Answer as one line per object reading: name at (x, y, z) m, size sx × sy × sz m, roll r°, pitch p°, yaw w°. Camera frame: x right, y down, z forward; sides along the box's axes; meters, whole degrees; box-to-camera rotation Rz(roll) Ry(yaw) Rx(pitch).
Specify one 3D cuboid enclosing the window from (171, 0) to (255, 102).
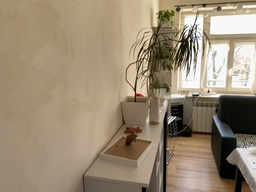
window at (1.910, -0.930, 3.910) m, size 2.130 × 2.030 × 0.200 m, roll 3°, pitch 13°, yaw 16°
